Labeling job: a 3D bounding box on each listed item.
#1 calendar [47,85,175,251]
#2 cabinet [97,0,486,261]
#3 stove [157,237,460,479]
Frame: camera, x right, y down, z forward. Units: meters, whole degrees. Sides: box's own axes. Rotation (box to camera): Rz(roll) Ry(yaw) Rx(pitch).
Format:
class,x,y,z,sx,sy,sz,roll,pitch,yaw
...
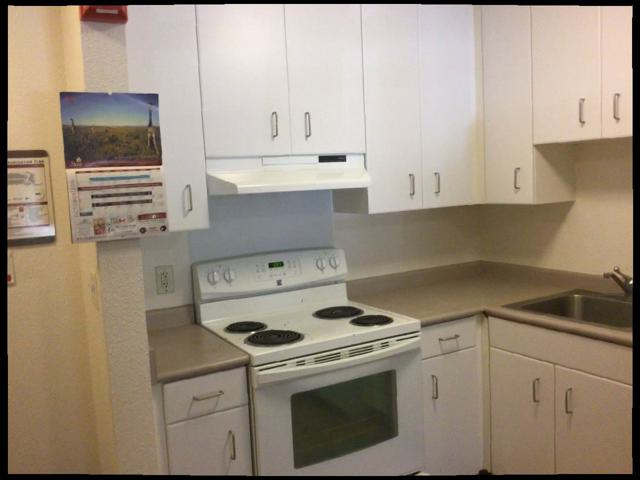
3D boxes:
class,x,y,z,sx,sy,sz,roll,pitch,yaw
calendar,-0.619,-0.220,1.730,0.300,0.461,0.090,-9,10,-31
cabinet,-0.010,-0.621,2.620,1.748,1.142,0.370,-9,10,-31
stove,-0.050,0.661,2.510,0.959,1.172,0.820,-9,10,-31
